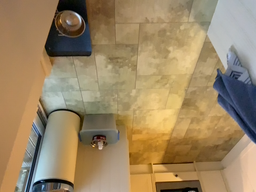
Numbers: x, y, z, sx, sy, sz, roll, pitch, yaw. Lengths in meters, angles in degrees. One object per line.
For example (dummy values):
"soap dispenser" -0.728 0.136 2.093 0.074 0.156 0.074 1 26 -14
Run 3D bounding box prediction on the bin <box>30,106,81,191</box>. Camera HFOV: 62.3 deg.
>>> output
"bin" -0.590 0.450 1.840 0.270 0.630 0.350 0 140 -5
